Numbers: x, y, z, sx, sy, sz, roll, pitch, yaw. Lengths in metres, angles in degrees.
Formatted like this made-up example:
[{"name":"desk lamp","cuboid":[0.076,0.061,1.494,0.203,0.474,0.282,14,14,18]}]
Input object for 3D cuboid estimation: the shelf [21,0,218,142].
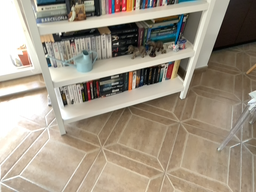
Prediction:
[{"name":"shelf","cuboid":[-0.040,-0.400,1.590,1.210,1.380,0.400,-15,47,-20]}]
